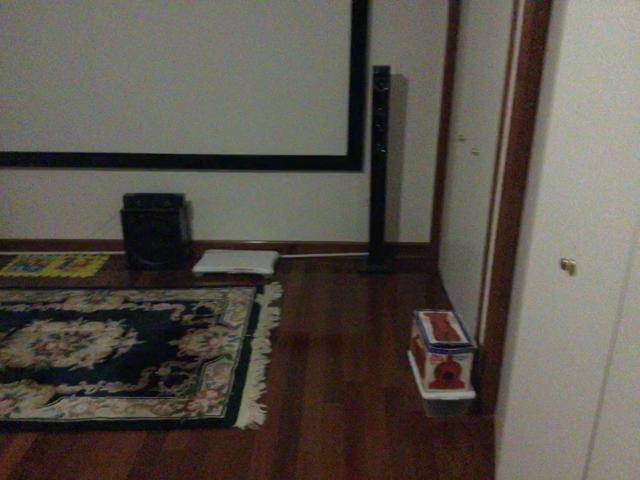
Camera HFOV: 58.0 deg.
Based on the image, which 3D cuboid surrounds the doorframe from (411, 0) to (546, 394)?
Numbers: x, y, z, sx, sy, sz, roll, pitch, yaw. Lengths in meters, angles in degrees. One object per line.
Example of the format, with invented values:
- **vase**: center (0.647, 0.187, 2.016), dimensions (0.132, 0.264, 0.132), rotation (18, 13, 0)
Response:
- **doorframe**: center (0.620, -0.380, 2.590), dimensions (0.110, 1.600, 1.320), rotation (3, 21, 1)

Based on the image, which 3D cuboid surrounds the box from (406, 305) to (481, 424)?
- **box**: center (0.470, 0.480, 2.270), dimensions (0.200, 0.320, 0.330), rotation (3, 21, 1)
